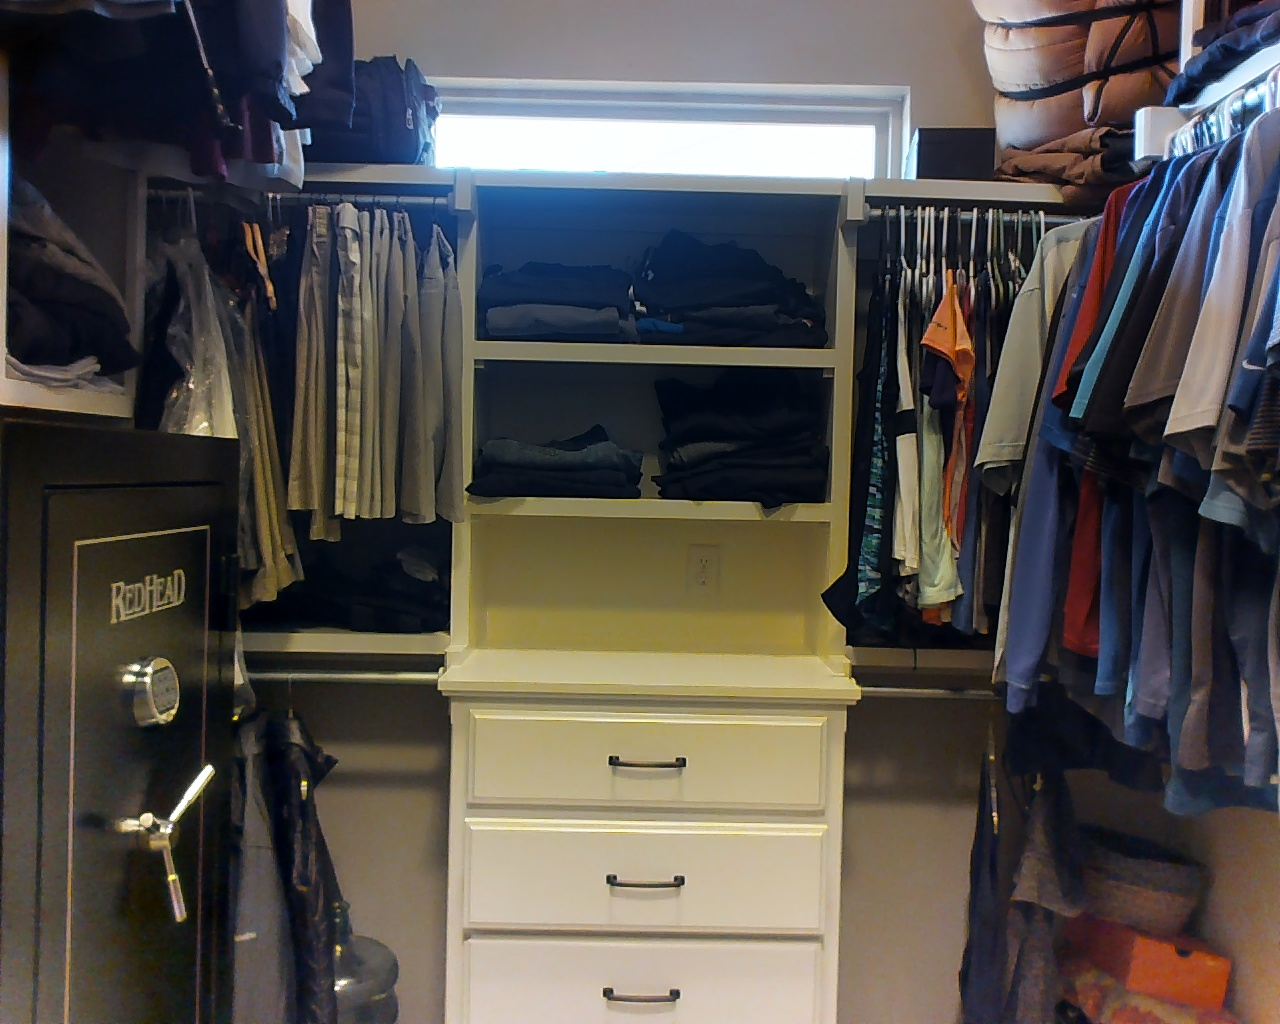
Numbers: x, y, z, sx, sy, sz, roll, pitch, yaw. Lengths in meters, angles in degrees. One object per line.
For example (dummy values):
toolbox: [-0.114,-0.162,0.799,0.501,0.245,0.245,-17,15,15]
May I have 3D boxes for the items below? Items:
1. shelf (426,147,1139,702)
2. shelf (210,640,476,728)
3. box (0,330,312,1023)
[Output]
shelf: [0.290,-0.180,2.380,1.440,1.110,0.380,1,1,0]
shelf: [-0.620,0.360,2.250,0.530,0.160,0.100,1,1,0]
box: [-0.950,0.590,1.630,0.560,1.580,1.020,1,1,0]
